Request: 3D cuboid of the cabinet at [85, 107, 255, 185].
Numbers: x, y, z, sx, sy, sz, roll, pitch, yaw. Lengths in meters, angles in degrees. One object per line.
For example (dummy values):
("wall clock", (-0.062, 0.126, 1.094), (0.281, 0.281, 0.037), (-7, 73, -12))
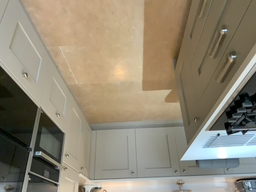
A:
("cabinet", (0.700, 0.760, 3.170), (2.520, 0.910, 0.590), (-3, 151, 2))
